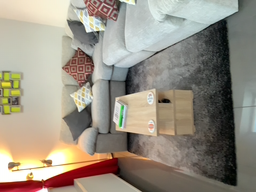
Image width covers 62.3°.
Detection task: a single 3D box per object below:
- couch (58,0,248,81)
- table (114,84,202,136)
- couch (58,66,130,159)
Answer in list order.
[{"bbox_3d":[-0.230,-0.940,2.660,3.000,0.880,1.030,168,101,-64],"label":"couch"},{"bbox_3d":[0.230,0.150,2.160,0.960,0.410,0.400,168,101,-64],"label":"table"},{"bbox_3d":[-0.610,0.260,3.430,1.090,0.870,1.200,168,102,-64],"label":"couch"}]
